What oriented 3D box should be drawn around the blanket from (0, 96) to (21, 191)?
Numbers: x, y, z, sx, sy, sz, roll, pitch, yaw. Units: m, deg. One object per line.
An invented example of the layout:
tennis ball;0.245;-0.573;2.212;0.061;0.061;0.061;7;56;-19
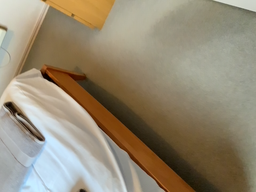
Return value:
blanket;-0.700;0.290;1.140;0.120;0.540;0.460;11;-1;-29
